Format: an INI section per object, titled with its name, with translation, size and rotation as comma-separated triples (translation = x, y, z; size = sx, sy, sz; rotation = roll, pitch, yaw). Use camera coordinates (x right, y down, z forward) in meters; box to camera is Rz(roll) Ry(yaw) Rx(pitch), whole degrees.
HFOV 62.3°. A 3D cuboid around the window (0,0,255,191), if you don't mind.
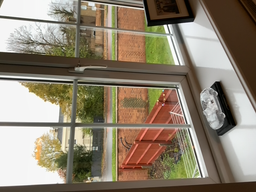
[window]
translation = -0.220, -0.420, 1.030
size = 0.330, 1.090, 1.730
rotation = 111, 158, -53
